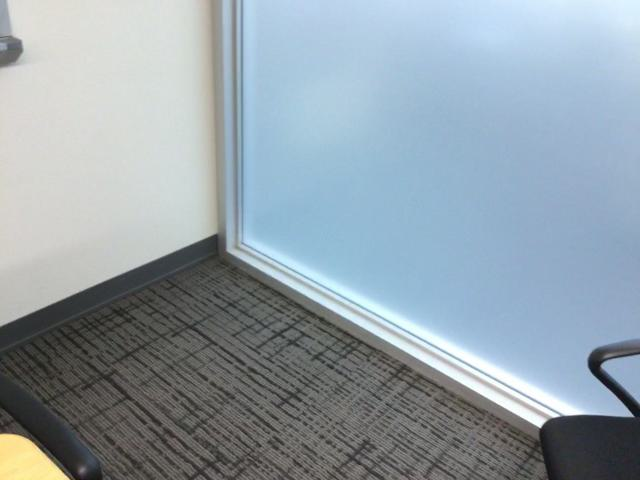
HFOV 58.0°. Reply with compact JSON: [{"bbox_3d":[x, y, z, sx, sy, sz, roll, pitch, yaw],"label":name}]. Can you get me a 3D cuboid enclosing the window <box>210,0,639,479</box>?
[{"bbox_3d":[0.380,-0.170,1.560,1.810,1.290,0.200,25,34,33],"label":"window"}]
